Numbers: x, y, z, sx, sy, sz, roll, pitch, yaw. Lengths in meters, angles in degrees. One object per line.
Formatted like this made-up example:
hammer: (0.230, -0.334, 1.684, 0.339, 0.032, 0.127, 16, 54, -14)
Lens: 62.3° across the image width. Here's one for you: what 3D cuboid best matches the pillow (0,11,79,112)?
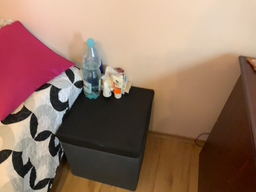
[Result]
pillow: (-0.450, -0.170, 0.880, 0.350, 0.150, 0.430, 7, 47, 4)
